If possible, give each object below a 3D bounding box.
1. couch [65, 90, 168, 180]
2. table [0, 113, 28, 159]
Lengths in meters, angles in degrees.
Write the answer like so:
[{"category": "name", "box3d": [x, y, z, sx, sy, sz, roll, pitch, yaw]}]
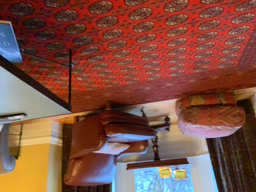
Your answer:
[{"category": "couch", "box3d": [-0.200, 0.590, 2.810, 0.770, 0.880, 1.070, 17, 150, -41]}, {"category": "table", "box3d": [-1.740, 0.570, 2.960, 0.410, 0.530, 0.400, -8, 157, 9]}]
